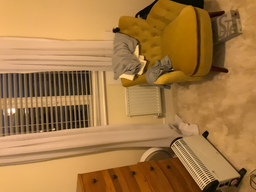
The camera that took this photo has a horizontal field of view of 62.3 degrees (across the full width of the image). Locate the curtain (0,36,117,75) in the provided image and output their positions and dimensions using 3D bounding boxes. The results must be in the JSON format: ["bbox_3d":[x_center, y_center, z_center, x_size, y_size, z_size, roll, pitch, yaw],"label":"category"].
[{"bbox_3d":[-0.880,-0.370,2.010,0.110,1.580,0.330,177,90,-68],"label":"curtain"}]

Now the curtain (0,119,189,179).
[{"bbox_3d":[-0.410,0.470,2.000,0.240,2.220,0.280,178,89,-68],"label":"curtain"}]

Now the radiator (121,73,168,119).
[{"bbox_3d":[0.190,-0.010,2.400,0.080,0.520,0.490,174,92,-68],"label":"radiator"}]

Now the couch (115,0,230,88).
[{"bbox_3d":[0.360,-0.480,1.960,0.690,0.740,0.740,174,93,-68],"label":"couch"}]
